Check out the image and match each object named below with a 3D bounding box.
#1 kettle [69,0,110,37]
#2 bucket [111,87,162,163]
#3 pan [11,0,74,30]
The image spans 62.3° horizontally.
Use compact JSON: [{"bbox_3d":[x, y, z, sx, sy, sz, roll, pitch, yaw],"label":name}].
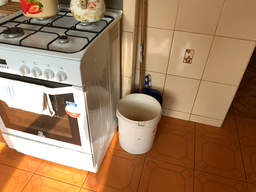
[{"bbox_3d":[-0.200,-0.450,1.140,0.160,0.190,0.150,14,39,13],"label":"kettle"},{"bbox_3d":[0.070,0.200,1.580,0.270,0.300,0.430,11,38,10],"label":"bucket"},{"bbox_3d":[-0.470,-0.490,1.200,0.230,0.120,0.220,14,39,14],"label":"pan"}]
